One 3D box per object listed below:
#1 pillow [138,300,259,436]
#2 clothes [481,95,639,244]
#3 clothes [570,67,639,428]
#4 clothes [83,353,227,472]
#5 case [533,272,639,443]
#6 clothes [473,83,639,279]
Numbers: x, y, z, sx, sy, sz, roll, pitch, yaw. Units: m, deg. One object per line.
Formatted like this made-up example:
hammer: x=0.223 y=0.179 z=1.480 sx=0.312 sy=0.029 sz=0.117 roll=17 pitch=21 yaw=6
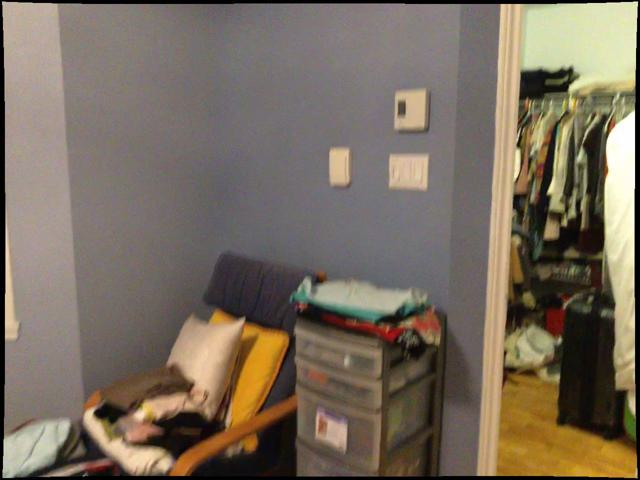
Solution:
pillow: x=-0.460 y=0.460 z=2.180 sx=0.400 sy=0.360 sz=0.240 roll=8 pitch=14 yaw=43
clothes: x=1.678 y=-0.490 z=3.840 sx=0.950 sy=0.841 sz=0.670 roll=8 pitch=14 yaw=43
clothes: x=1.439 y=0.020 z=2.620 sx=0.360 sy=1.521 sz=0.460 roll=8 pitch=14 yaw=43
clothes: x=-0.569 y=0.571 z=1.990 sx=0.400 sy=0.190 sz=0.300 roll=8 pitch=14 yaw=43
case: x=1.379 y=0.551 z=2.890 sx=0.390 sy=0.641 sz=0.520 roll=8 pitch=14 yaw=43
clothes: x=1.688 y=-0.420 z=3.860 sx=1.099 sy=1.111 sz=0.630 roll=8 pitch=14 yaw=43
